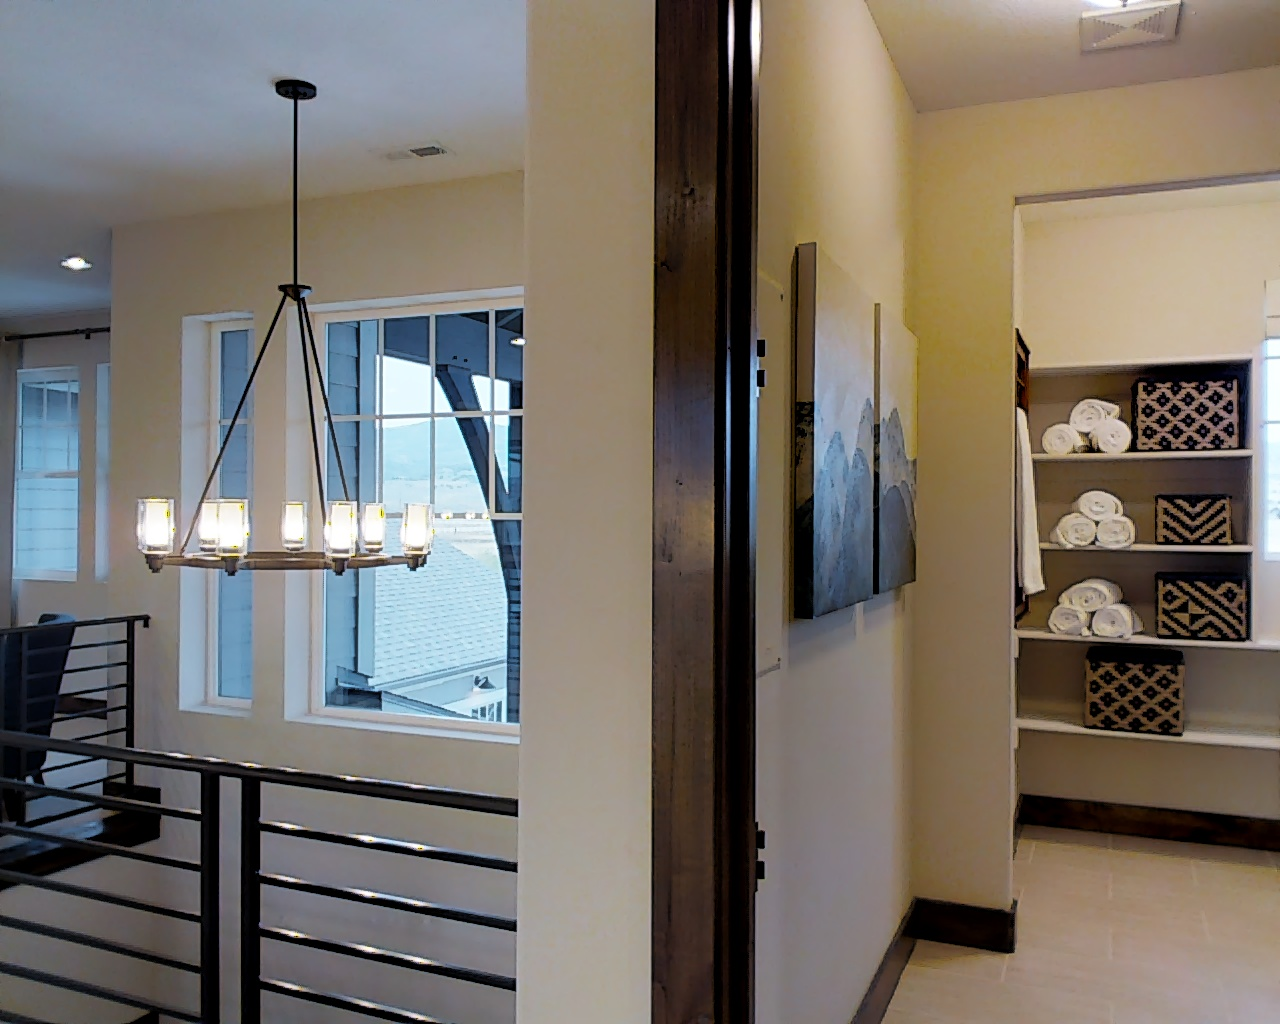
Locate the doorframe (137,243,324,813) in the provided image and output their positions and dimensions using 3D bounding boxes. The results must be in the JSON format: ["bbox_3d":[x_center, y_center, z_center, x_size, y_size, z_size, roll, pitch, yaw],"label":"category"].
[{"bbox_3d":[-1.950,0.070,5.070,0.980,2.560,0.150,0,-1,23],"label":"doorframe"}]
